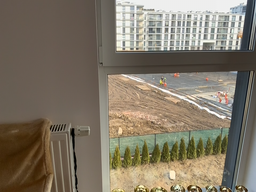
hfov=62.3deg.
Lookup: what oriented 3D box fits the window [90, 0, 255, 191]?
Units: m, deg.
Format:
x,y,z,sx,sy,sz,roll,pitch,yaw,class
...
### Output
x,y,z,sx,sy,sz,roll,pitch,yaw,class
0.350,-0.140,1.270,1.110,2.250,0.160,-2,16,-9,window
